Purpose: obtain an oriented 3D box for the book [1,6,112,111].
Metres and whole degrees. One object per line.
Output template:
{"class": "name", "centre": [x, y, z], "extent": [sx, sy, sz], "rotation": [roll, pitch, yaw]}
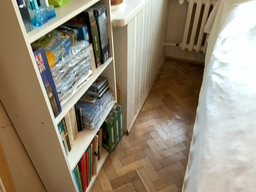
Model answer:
{"class": "book", "centre": [-0.270, -0.210, 0.990], "extent": [0.200, 0.240, 0.520], "rotation": [13, 41, 14]}
